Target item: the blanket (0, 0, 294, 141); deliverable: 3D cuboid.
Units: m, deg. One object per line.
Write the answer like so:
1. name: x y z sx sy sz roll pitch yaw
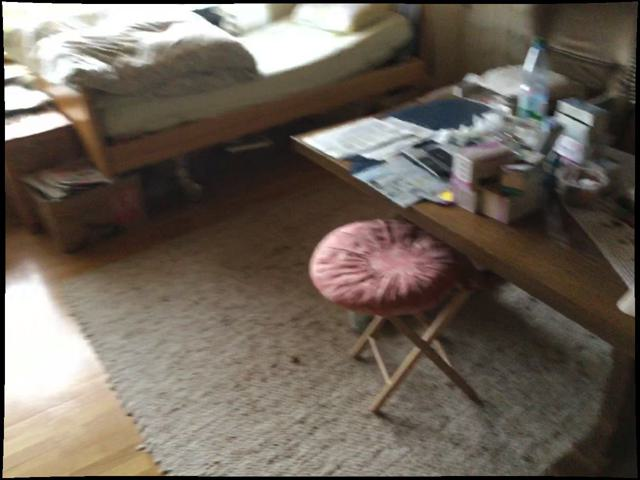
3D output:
1. blanket: -0.879 -0.941 2.790 1.199 0.380 0.880 -21 37 -27

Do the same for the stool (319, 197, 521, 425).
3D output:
1. stool: 0.270 0.200 1.780 0.450 0.460 0.440 -8 33 -9

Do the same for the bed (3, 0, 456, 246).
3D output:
1. bed: -0.430 -0.911 3.350 2.189 0.821 1.090 -22 37 -27
